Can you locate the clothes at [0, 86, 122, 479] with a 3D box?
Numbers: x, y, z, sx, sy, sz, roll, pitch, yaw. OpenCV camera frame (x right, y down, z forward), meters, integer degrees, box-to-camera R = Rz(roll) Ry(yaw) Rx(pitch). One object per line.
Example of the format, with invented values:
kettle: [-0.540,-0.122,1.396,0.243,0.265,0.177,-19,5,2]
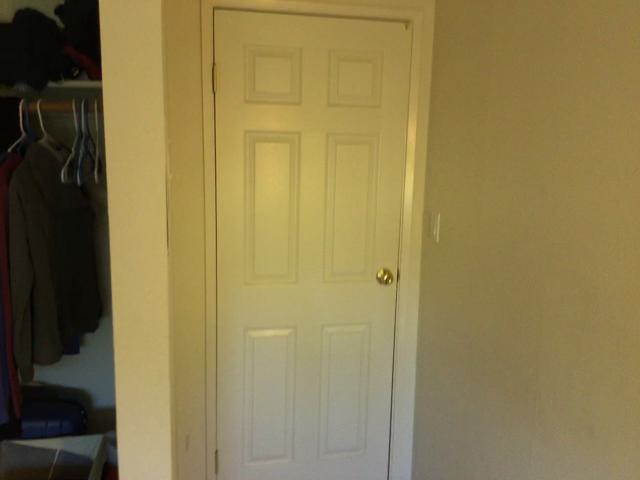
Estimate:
clothes: [-1.360,0.310,1.740,1.390,1.480,0.700,-1,8,-17]

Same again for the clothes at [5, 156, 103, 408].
clothes: [-0.790,0.090,1.770,0.190,0.680,0.450,-1,8,-17]
